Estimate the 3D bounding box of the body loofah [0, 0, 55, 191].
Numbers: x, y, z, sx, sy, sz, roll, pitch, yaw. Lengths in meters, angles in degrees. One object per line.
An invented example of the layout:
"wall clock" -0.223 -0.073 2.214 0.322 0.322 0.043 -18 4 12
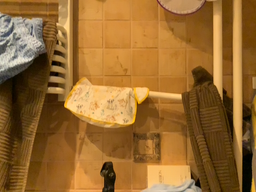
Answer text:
"body loofah" -0.450 0.050 0.660 0.380 0.640 0.170 0 -1 1
